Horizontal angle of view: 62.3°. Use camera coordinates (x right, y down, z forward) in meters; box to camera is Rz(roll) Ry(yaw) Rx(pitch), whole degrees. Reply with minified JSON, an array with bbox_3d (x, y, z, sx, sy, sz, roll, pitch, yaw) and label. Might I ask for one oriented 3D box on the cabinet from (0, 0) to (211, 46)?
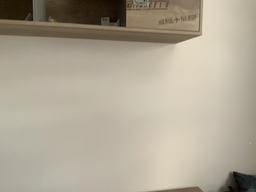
[{"bbox_3d":[-0.230,-0.470,1.090,1.270,0.330,0.300,-1,5,-12],"label":"cabinet"}]
